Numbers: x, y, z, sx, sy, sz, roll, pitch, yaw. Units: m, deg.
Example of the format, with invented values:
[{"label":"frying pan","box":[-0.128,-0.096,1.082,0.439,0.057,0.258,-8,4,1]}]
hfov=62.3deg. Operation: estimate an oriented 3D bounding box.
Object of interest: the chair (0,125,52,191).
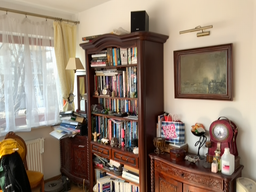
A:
[{"label":"chair","box":[-1.310,0.890,2.710,0.420,0.930,0.430,1,5,19]}]

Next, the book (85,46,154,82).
[{"label":"book","box":[-0.130,-0.350,2.520,0.870,0.350,0.280,4,7,42]}]

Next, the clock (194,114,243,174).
[{"label":"clock","box":[0.770,0.390,1.820,0.260,0.400,0.290,-5,7,-40]}]

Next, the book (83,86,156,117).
[{"label":"book","box":[-0.140,0.040,2.560,0.940,0.280,0.300,4,7,42]}]
